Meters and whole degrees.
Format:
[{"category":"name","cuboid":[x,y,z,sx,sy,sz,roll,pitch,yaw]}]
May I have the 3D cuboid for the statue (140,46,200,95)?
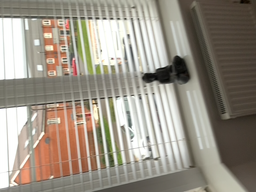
[{"category":"statue","cuboid":[0.240,-0.150,1.260,0.190,0.250,0.220,135,127,-66]}]
